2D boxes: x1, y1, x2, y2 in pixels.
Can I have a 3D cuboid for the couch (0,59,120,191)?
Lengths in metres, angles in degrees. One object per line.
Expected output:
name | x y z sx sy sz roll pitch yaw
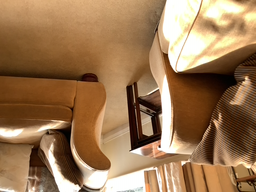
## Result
couch | -0.980 0.380 1.510 1.660 0.850 0.990 2 148 -12
